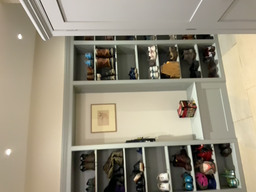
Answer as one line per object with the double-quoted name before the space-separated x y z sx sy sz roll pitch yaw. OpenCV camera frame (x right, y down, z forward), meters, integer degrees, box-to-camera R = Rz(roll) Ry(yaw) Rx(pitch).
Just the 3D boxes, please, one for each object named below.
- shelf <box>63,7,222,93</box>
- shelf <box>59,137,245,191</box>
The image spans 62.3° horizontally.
"shelf" 0.180 -0.730 3.270 0.380 2.210 1.230 103 164 -72
"shelf" 0.310 1.250 2.660 0.370 2.210 1.290 103 164 -72
